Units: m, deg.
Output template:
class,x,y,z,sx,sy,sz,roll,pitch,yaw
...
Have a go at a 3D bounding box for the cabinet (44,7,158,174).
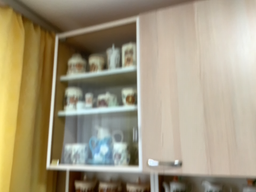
class,x,y,z,sx,sy,sz,roll,pitch,yaw
cabinet,-0.130,-0.010,1.170,0.510,0.770,0.280,-5,-13,21
